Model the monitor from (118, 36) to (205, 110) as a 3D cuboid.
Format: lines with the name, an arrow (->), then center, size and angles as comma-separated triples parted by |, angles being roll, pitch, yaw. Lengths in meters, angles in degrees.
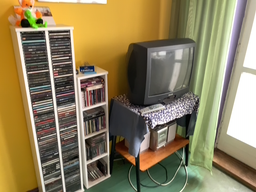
monitor -> 0.250, -0.210, 1.660 | 0.570, 0.440, 0.310 | -13, 27, -31

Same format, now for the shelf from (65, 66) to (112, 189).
shelf -> -0.310, 0.270, 1.750 | 0.270, 0.980, 0.220 | -15, 28, -35

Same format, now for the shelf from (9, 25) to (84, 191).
shelf -> -0.540, 0.180, 1.520 | 0.310, 1.290, 0.220 | -15, 28, -35

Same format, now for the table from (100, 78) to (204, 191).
table -> 0.190, 0.330, 1.920 | 0.680, 0.760, 0.540 | -15, 28, -35
